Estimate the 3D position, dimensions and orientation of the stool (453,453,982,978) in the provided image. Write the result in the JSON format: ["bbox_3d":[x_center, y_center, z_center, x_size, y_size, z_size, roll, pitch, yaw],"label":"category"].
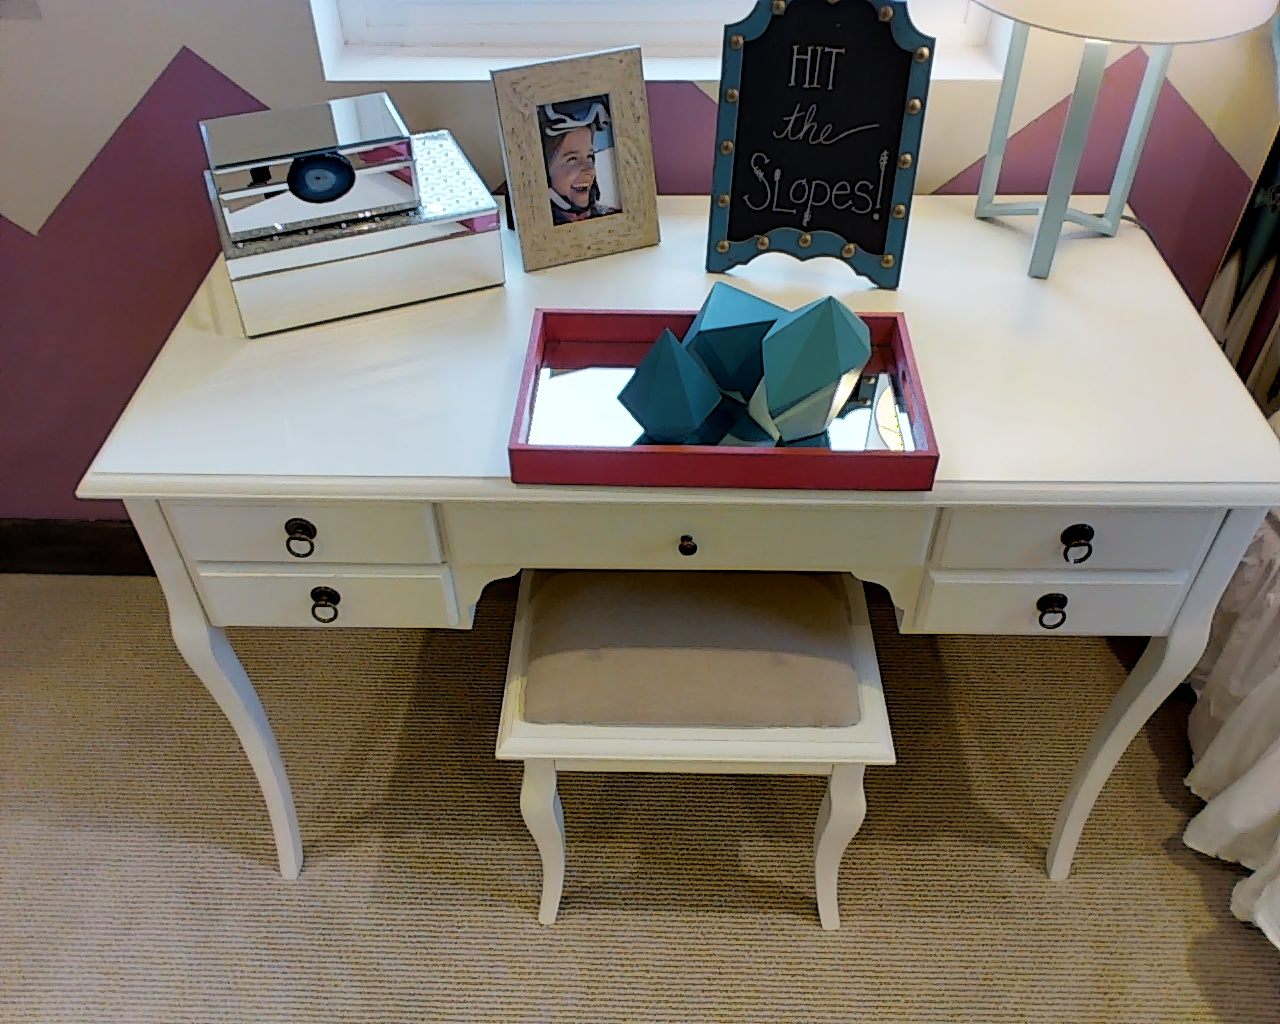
[{"bbox_3d":[0.080,0.270,1.440,0.540,0.490,0.490,1,42,0],"label":"stool"}]
